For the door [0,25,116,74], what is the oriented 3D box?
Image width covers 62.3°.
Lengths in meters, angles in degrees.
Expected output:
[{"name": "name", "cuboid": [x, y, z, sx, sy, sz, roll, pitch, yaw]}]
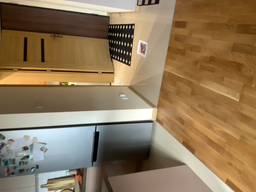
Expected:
[{"name": "door", "cuboid": [-1.320, -0.860, 4.050, 0.100, 2.120, 0.910, 127, 137, -55]}]
